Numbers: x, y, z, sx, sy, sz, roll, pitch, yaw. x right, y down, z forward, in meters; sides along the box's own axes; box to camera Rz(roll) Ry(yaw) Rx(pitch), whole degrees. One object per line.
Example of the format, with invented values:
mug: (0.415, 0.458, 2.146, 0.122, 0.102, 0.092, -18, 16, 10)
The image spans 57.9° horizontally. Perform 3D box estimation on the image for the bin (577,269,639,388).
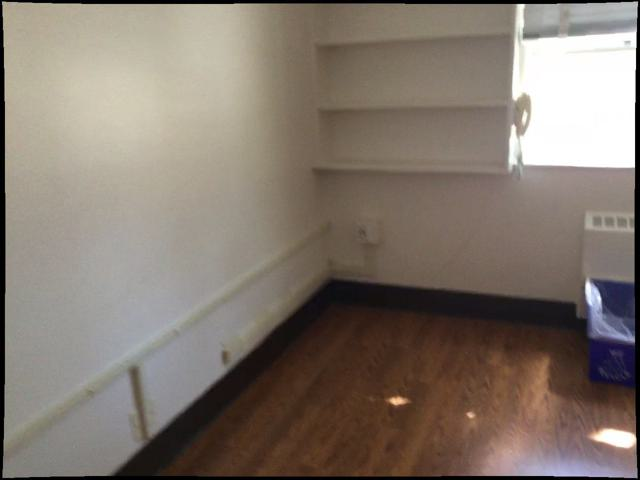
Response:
bin: (1.299, 0.370, 2.490, 0.320, 0.320, 0.420, 7, 22, 22)
